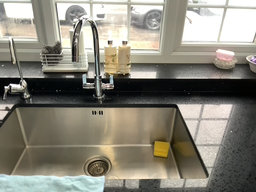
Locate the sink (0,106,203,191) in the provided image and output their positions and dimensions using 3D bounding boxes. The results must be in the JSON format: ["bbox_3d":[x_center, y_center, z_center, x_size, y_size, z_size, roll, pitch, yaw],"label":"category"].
[{"bbox_3d":[-0.110,0.240,0.820,0.640,0.250,0.350,0,30,-3],"label":"sink"}]
